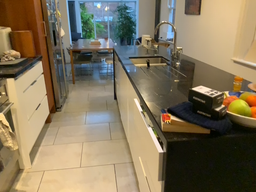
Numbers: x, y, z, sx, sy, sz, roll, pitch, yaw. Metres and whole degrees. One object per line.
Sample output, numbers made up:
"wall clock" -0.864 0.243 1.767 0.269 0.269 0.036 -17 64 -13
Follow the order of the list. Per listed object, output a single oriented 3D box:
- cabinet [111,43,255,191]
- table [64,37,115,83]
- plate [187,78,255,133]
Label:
"cabinet" 0.240 0.090 2.290 0.660 0.960 2.800 -2 21 -7
"table" -0.960 -1.080 5.660 1.030 0.770 2.410 -2 20 -7
"plate" 0.490 0.020 0.940 0.320 0.100 0.360 -2 20 -7
